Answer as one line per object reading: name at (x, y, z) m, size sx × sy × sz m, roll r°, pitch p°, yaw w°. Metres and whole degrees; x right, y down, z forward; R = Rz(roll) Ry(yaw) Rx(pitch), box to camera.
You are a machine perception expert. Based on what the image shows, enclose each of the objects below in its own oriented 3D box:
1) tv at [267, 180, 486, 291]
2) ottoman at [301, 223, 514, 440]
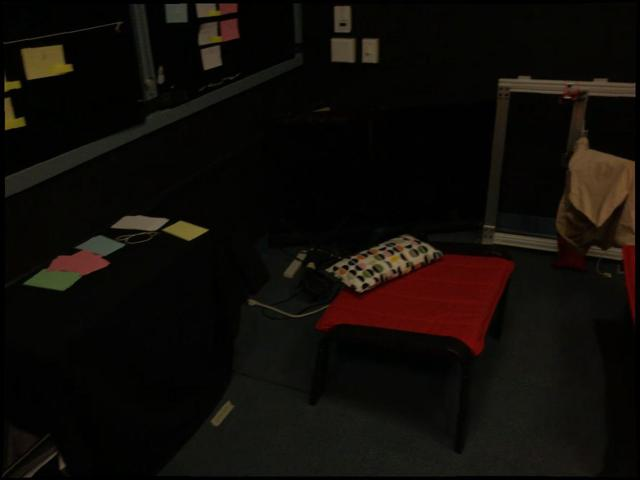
tv at (0.309, -0.060, 3.000) m, size 0.968 × 0.160 × 0.640 m, roll 10°, pitch 30°, yaw 20°
ottoman at (0.339, 0.271, 2.070) m, size 0.569 × 0.311 × 0.700 m, roll 10°, pitch 30°, yaw 20°
